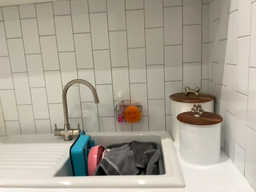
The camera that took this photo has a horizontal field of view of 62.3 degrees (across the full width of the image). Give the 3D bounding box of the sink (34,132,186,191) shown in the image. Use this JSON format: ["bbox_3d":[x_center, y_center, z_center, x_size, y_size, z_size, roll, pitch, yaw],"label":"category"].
[{"bbox_3d":[-0.050,0.310,1.010,0.550,0.100,0.490,-2,11,5],"label":"sink"}]
